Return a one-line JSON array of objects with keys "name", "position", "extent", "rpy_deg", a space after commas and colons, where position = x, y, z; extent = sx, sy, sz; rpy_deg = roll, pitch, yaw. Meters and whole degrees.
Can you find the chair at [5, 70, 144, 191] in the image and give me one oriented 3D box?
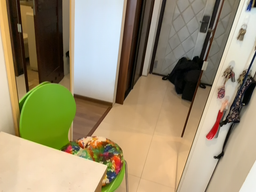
[{"name": "chair", "position": [-0.280, 0.380, 1.260], "extent": [0.530, 0.870, 0.440], "rpy_deg": [15, 27, 11]}]
